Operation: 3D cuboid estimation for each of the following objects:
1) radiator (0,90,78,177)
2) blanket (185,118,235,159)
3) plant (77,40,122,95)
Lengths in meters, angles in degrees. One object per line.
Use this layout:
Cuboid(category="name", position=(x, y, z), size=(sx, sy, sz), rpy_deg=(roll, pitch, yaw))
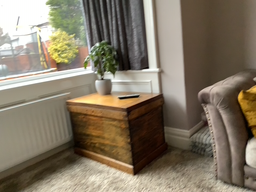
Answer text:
Cuboid(category="radiator", position=(-1.150, 0.400, 1.830), size=(0.140, 0.580, 1.540), rpy_deg=(4, 16, 40))
Cuboid(category="blanket", position=(0.810, 0.390, 2.070), size=(0.310, 0.190, 0.440), rpy_deg=(5, 17, 43))
Cuboid(category="plant", position=(-0.320, -0.320, 2.390), size=(0.350, 0.550, 0.260), rpy_deg=(4, 16, 40))
